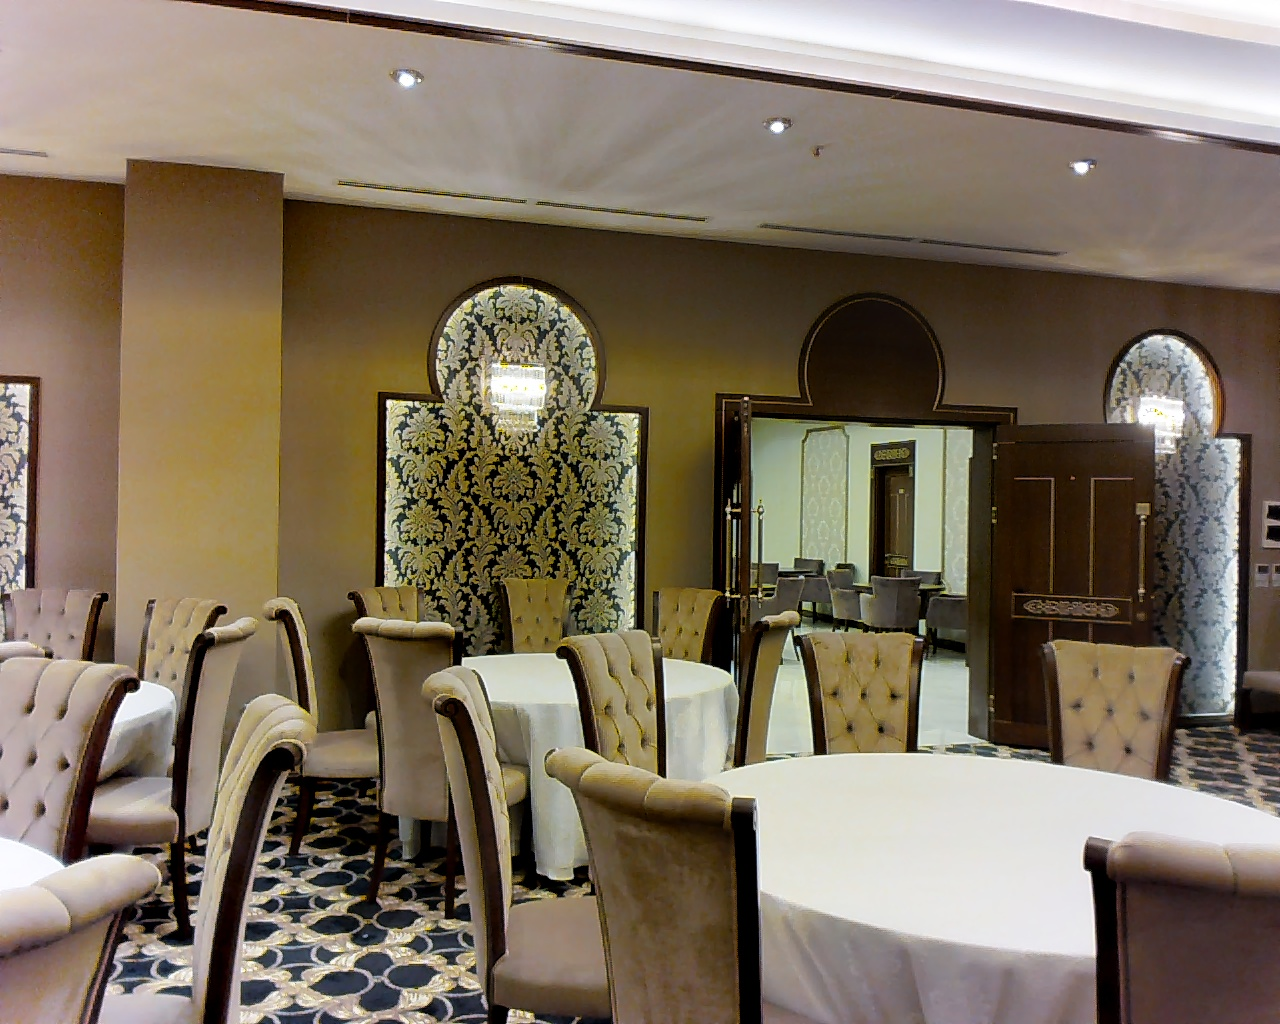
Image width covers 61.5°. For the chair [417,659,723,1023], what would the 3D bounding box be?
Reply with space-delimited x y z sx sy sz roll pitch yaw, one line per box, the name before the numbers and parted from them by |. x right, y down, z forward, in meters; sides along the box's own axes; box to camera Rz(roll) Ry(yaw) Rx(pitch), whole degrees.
chair | -0.150 0.990 2.790 0.690 1.120 0.570 1 0 6

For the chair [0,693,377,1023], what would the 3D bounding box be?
chair | -0.910 0.970 2.120 0.630 1.100 0.580 1 0 -26

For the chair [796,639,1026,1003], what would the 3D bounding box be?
chair | 0.910 1.020 3.760 0.670 1.060 0.640 1 0 6

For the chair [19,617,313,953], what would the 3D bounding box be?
chair | -1.699 0.950 3.960 0.750 1.040 0.690 1 0 1

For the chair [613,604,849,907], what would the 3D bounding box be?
chair | 0.410 1.010 4.780 0.750 1.110 0.720 1 0 38

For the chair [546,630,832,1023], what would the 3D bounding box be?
chair | 0.160 0.980 3.500 0.700 1.090 0.580 1 0 39

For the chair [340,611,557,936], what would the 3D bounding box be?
chair | -0.750 0.980 4.280 0.580 1.090 0.600 1 0 29

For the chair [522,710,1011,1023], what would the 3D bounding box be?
chair | 0.240 0.980 2.010 0.640 1.050 0.660 1 0 41

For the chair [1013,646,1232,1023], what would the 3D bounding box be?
chair | 1.589 1.030 3.520 0.550 1.080 0.610 1 0 33

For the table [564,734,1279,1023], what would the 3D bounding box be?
table | 0.930 1.161 2.760 1.620 0.720 1.580 1 0 -39

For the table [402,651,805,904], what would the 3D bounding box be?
table | -0.280 1.161 5.180 1.559 0.740 1.640 1 0 -17
